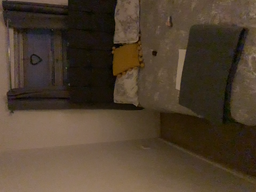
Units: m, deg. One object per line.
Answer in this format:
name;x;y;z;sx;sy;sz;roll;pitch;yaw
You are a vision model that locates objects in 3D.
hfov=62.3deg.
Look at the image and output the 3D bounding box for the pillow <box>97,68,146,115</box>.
pillow;-0.070;-0.050;2.440;0.400;0.370;0.170;34;170;-16
